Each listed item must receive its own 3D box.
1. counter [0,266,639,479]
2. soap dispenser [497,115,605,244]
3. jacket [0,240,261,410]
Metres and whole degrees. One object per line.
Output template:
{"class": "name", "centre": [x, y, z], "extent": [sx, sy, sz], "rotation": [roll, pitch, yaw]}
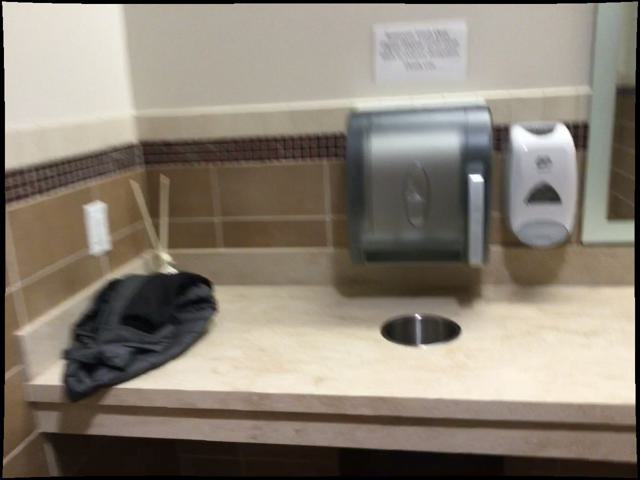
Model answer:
{"class": "counter", "centre": [0.420, 0.420, 1.260], "extent": [1.938, 0.540, 0.640], "rotation": [0, 17, 12]}
{"class": "soap dispenser", "centre": [0.519, -0.140, 1.330], "extent": [0.200, 0.270, 0.130], "rotation": [0, 17, 12]}
{"class": "jacket", "centre": [-0.370, 0.150, 1.300], "extent": [0.310, 0.140, 0.580], "rotation": [0, 17, 12]}
